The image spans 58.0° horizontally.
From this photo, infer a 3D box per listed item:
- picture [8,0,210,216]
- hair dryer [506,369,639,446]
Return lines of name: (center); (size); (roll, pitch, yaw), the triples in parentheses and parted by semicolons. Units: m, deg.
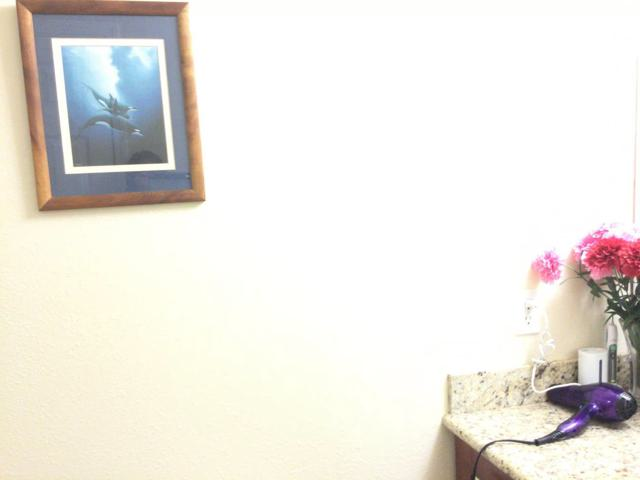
picture: (-0.400, -0.260, 1.130); (0.330, 0.400, 0.040); (-5, 6, -14)
hair dryer: (0.590, 0.380, 1.340); (0.220, 0.090, 0.210); (0, 5, -14)
